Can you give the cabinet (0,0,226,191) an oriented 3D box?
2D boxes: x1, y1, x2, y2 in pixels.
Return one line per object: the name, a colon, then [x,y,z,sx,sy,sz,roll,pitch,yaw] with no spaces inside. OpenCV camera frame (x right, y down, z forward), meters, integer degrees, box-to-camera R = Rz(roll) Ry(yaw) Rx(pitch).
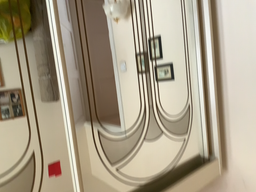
cabinet: [-0.740,-0.350,0.630,2.790,2.100,0.650,-12,-171,-39]
